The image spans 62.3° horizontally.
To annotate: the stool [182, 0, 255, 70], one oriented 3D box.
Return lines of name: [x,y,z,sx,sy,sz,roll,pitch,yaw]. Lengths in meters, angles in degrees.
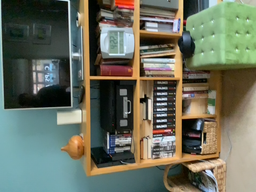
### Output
stool: [0.640,-0.380,1.430,0.380,0.380,0.380,-170,80,-69]
